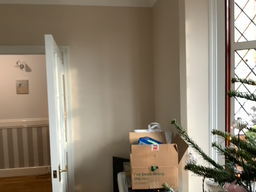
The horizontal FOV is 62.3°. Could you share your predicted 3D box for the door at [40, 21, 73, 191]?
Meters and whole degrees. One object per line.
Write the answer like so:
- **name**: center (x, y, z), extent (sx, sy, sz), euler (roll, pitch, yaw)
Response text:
- **door**: center (-0.600, 0.500, 1.930), extent (0.070, 2.040, 0.970), euler (-2, 4, -10)
